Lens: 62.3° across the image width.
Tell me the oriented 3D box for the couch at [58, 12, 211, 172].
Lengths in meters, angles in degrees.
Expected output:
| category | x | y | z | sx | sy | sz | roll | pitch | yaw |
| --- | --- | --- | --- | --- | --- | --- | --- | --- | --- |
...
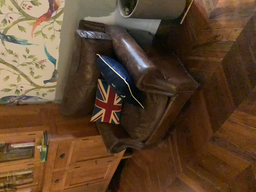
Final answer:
| category | x | y | z | sx | sy | sz | roll | pitch | yaw |
| --- | --- | --- | --- | --- | --- | --- | --- | --- | --- |
| couch | -0.070 | -0.040 | 1.960 | 0.870 | 0.860 | 0.990 | 60 | 140 | 40 |
